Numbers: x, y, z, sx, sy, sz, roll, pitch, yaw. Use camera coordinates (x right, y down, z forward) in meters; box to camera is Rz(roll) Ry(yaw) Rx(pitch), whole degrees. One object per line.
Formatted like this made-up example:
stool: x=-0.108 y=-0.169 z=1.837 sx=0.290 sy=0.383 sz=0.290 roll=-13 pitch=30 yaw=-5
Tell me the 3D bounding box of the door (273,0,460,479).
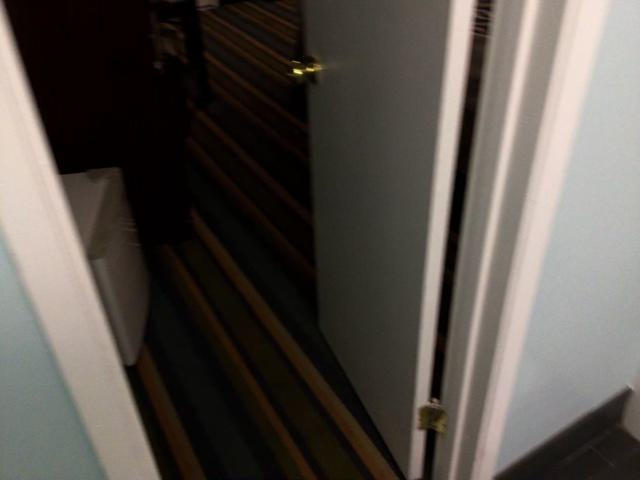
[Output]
door: x=0.080 y=-0.080 z=1.320 sx=0.080 sy=1.270 sz=0.600 roll=-17 pitch=36 yaw=-17
